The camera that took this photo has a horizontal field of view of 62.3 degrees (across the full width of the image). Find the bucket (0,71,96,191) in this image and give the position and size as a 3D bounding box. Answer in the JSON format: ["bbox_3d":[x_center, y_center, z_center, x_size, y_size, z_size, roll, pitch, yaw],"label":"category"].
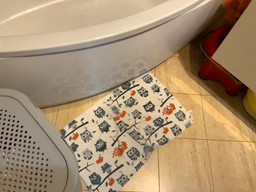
[{"bbox_3d":[-0.390,0.290,0.830,0.310,0.600,0.430,-37,74,-21],"label":"bucket"}]

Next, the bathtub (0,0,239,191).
[{"bbox_3d":[-0.250,-0.450,1.230,1.510,0.580,1.060,-39,74,-22],"label":"bathtub"}]
